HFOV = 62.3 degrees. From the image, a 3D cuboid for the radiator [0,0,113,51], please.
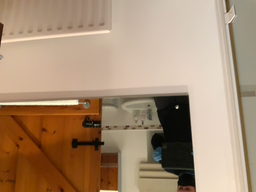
[{"bbox_3d":[-0.430,-0.590,1.080,0.720,0.700,0.060,-3,167,11],"label":"radiator"}]
